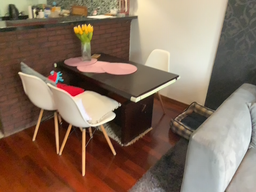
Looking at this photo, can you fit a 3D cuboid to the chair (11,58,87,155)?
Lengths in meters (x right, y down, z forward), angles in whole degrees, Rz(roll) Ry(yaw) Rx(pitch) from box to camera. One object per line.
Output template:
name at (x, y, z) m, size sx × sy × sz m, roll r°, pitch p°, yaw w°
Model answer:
chair at (-0.770, 0.080, 2.170) m, size 0.440 × 0.770 × 0.500 m, roll 23°, pitch 33°, yaw 36°

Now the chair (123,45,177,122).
chair at (0.270, -0.180, 2.750) m, size 0.420 × 0.800 × 0.490 m, roll 24°, pitch 34°, yaw 35°

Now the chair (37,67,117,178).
chair at (-0.430, 0.210, 1.940) m, size 0.420 × 0.770 × 0.500 m, roll 22°, pitch 32°, yaw 34°
